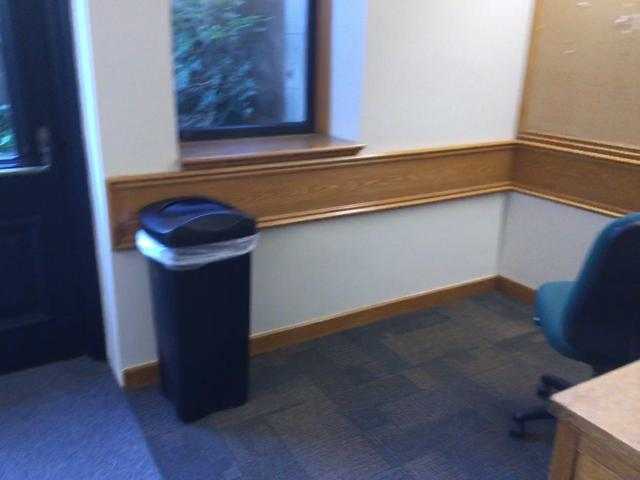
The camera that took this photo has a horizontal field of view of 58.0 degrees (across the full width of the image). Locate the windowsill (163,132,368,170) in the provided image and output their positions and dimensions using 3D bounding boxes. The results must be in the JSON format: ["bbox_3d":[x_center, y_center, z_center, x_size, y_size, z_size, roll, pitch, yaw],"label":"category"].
[{"bbox_3d":[-0.230,-0.410,2.600,0.880,0.050,0.280,-11,21,-28],"label":"windowsill"}]

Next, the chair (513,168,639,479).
[{"bbox_3d":[1.060,0.280,2.080,0.570,0.960,0.610,2,20,12],"label":"chair"}]

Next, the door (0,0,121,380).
[{"bbox_3d":[-1.390,-0.380,2.140,1.010,1.980,0.170,-11,21,-28],"label":"door"}]
